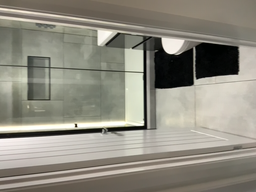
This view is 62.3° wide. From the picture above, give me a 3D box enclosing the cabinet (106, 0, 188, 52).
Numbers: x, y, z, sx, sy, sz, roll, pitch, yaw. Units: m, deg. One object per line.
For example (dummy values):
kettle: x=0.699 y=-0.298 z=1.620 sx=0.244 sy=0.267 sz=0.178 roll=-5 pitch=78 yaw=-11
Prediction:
cabinet: x=0.190 y=-0.810 z=2.460 sx=0.600 sy=0.760 sz=0.430 roll=180 pitch=90 yaw=-68
